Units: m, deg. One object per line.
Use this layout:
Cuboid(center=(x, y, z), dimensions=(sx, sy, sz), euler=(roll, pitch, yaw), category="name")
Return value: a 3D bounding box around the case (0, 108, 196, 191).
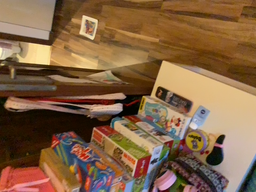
Cuboid(center=(-0.100, 0.260, 0.820), dimensions=(0.310, 0.770, 0.280), euler=(31, 111, 39), category="case")
